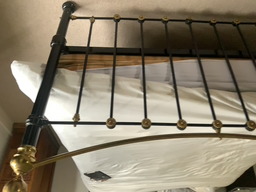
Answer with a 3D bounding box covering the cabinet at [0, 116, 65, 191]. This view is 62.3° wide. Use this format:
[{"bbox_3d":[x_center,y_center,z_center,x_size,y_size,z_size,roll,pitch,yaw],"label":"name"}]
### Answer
[{"bbox_3d":[-1.100,0.860,2.430,0.400,1.010,0.770,0,144,-1],"label":"cabinet"}]
